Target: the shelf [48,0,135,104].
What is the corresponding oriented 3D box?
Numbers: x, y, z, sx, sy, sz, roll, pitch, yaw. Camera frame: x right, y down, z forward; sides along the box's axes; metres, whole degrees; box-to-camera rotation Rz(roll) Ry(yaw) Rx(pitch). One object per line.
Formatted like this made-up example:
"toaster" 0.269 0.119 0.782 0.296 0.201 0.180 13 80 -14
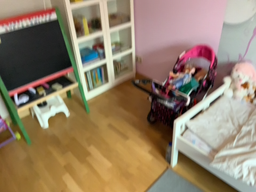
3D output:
"shelf" -0.350 -0.960 2.160 0.800 2.030 0.320 -29 43 -32
